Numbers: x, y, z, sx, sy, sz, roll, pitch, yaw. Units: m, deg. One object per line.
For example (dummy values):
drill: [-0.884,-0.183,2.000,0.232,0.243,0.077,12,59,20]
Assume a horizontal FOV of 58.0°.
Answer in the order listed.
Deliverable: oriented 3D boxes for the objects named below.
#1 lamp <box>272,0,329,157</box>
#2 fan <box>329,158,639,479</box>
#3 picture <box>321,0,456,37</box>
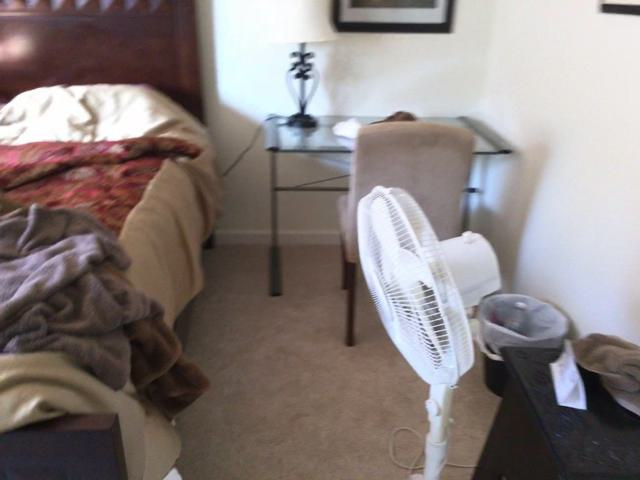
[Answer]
lamp: [-0.090,-0.760,2.600,0.230,0.690,0.340,1,26,-2]
fan: [0.310,0.370,1.330,0.530,0.990,0.510,1,26,-2]
picture: [0.310,-1.170,2.600,0.600,0.460,0.100,1,26,-2]
